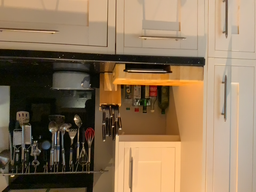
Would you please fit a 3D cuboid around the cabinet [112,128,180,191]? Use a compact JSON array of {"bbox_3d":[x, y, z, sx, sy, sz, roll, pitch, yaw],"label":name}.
[{"bbox_3d":[0.100,0.660,1.480,0.400,0.830,0.320,1,180,-8],"label":"cabinet"}]
